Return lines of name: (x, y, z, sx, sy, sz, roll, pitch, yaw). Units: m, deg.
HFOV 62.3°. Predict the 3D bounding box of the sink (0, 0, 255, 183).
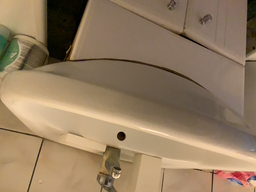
sink: (0.030, 0.050, 0.500, 0.560, 0.190, 0.450, 16, 163, -16)
